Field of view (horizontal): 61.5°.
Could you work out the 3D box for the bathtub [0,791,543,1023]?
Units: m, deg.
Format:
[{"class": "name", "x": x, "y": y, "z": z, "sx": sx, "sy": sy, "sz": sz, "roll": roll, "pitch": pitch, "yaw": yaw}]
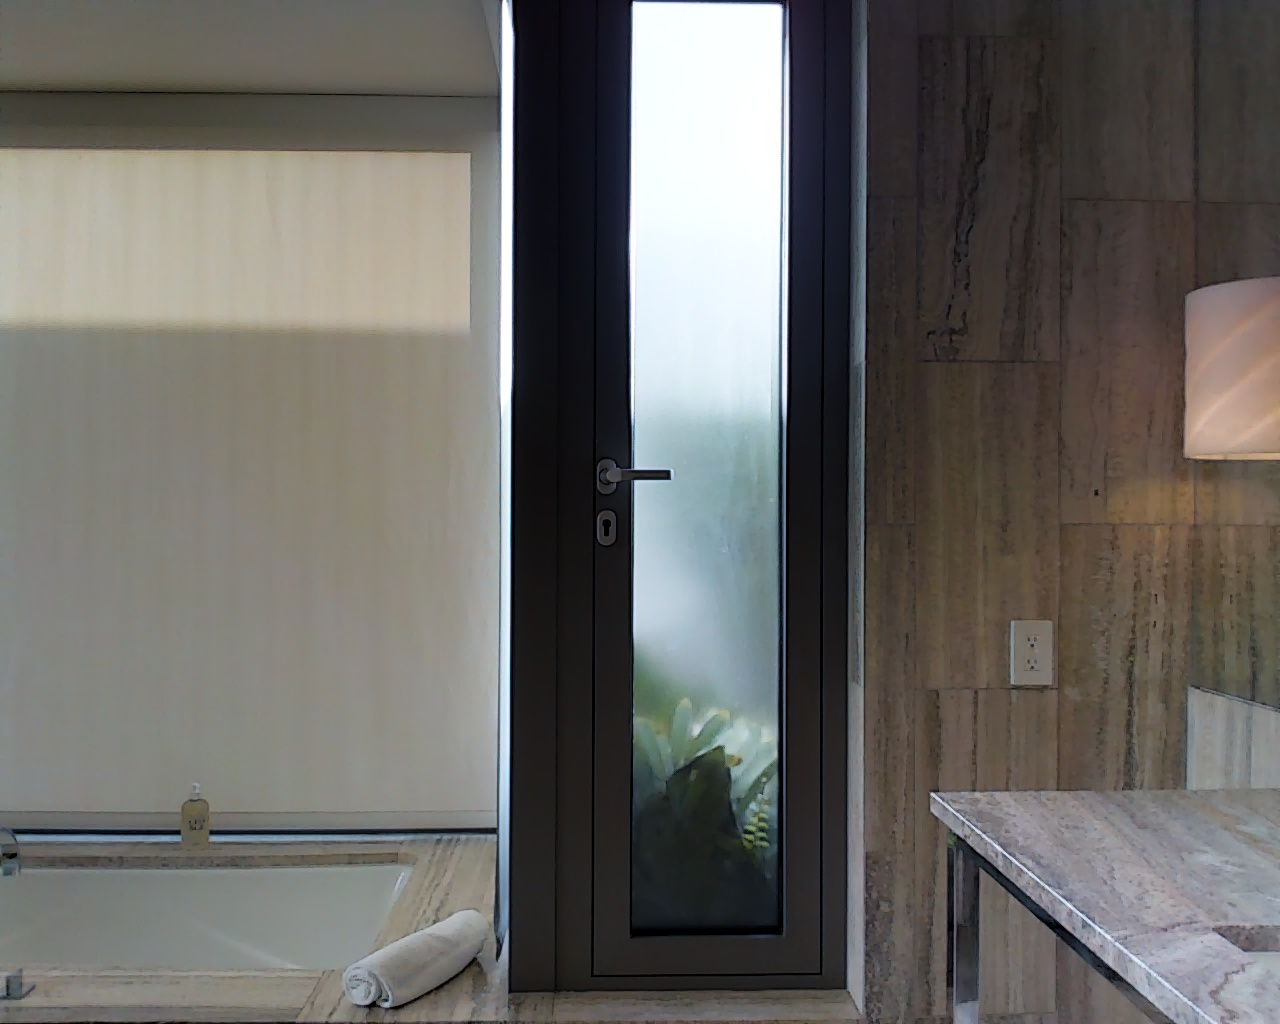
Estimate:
[{"class": "bathtub", "x": -1.360, "y": 1.140, "z": 2.550, "sx": 2.190, "sy": 0.640, "sz": 1.180, "roll": 0, "pitch": 0, "yaw": -2}]
